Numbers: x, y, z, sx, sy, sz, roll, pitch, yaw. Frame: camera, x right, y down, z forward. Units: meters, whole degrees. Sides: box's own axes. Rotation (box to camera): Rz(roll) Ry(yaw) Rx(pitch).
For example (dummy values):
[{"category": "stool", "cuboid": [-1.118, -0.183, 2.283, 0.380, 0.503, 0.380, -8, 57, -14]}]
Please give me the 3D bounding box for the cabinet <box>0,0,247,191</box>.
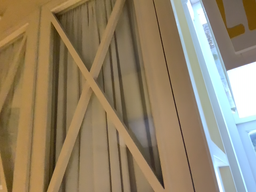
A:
[{"category": "cabinet", "cuboid": [-0.150, 0.320, 0.810, 1.020, 1.980, 0.610, -19, 155, 24]}]
